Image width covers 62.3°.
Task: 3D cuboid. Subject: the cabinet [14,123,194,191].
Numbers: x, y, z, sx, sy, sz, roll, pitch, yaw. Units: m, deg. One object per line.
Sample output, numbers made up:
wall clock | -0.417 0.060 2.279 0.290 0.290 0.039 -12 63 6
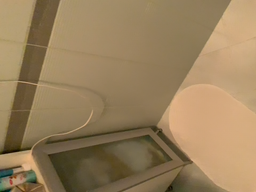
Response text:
cabinet | -0.060 0.390 1.100 0.300 0.850 0.300 44 120 36
